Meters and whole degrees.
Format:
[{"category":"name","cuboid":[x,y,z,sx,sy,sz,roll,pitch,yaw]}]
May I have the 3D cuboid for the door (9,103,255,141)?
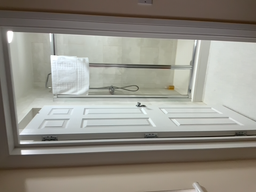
[{"category":"door","cuboid":[0.130,0.200,1.980,0.790,2.020,0.060,-125,36,-75]}]
